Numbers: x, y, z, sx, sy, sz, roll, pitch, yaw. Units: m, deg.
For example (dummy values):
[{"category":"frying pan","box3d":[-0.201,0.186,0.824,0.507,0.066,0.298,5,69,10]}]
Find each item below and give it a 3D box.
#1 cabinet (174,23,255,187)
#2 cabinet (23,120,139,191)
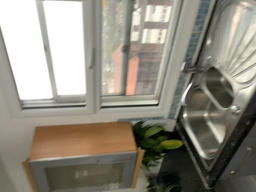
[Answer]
[{"category":"cabinet","box3d":[0.920,0.050,1.390,0.600,0.910,0.820,-105,17,-50]},{"category":"cabinet","box3d":[-0.350,0.540,1.720,0.290,0.760,0.620,-105,17,-50]}]
